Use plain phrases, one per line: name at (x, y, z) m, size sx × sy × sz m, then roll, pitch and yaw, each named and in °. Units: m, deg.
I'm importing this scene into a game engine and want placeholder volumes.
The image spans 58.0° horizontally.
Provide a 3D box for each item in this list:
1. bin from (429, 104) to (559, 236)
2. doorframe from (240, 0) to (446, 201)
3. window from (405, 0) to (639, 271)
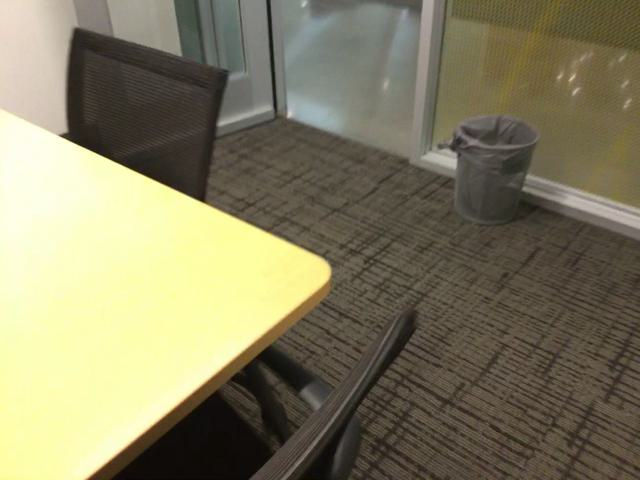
bin at (0.660, -0.280, 2.220) m, size 0.330 × 0.330 × 0.330 m, roll 23°, pitch 41°, yaw 30°
doorframe at (0.060, -1.290, 2.370) m, size 0.990 × 2.190 × 0.160 m, roll 23°, pitch 41°, yaw 30°
window at (0.930, -0.440, 1.960) m, size 1.290 × 0.860 × 0.300 m, roll 29°, pitch 44°, yaw 35°
